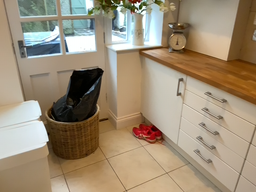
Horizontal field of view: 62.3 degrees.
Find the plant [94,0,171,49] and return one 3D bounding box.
[{"bbox_3d":[0.050,-0.840,2.040,0.690,0.640,0.280,-14,30,-27],"label":"plant"}]

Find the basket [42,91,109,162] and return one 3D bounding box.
[{"bbox_3d":[-0.530,0.270,2.120,0.520,0.380,0.510,-11,29,-23],"label":"basket"}]
